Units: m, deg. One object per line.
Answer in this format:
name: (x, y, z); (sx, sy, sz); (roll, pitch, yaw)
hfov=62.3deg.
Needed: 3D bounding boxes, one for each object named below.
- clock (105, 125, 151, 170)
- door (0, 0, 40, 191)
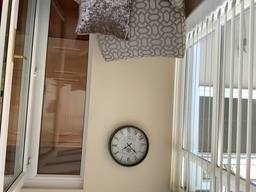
clock: (0.000, 0.500, 2.080); (0.420, 0.410, 0.110); (3, 177, -8)
door: (-0.850, -0.280, 1.640); (0.080, 2.080, 0.890); (4, 177, -13)
